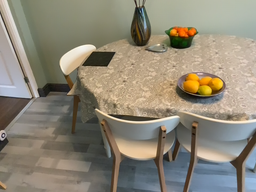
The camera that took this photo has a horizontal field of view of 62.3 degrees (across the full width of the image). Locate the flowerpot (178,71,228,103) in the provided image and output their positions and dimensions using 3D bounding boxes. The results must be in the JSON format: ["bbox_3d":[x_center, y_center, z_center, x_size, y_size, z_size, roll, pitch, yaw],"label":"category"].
[{"bbox_3d":[0.420,-0.060,1.230,0.250,0.070,0.220,3,35,11],"label":"flowerpot"}]
